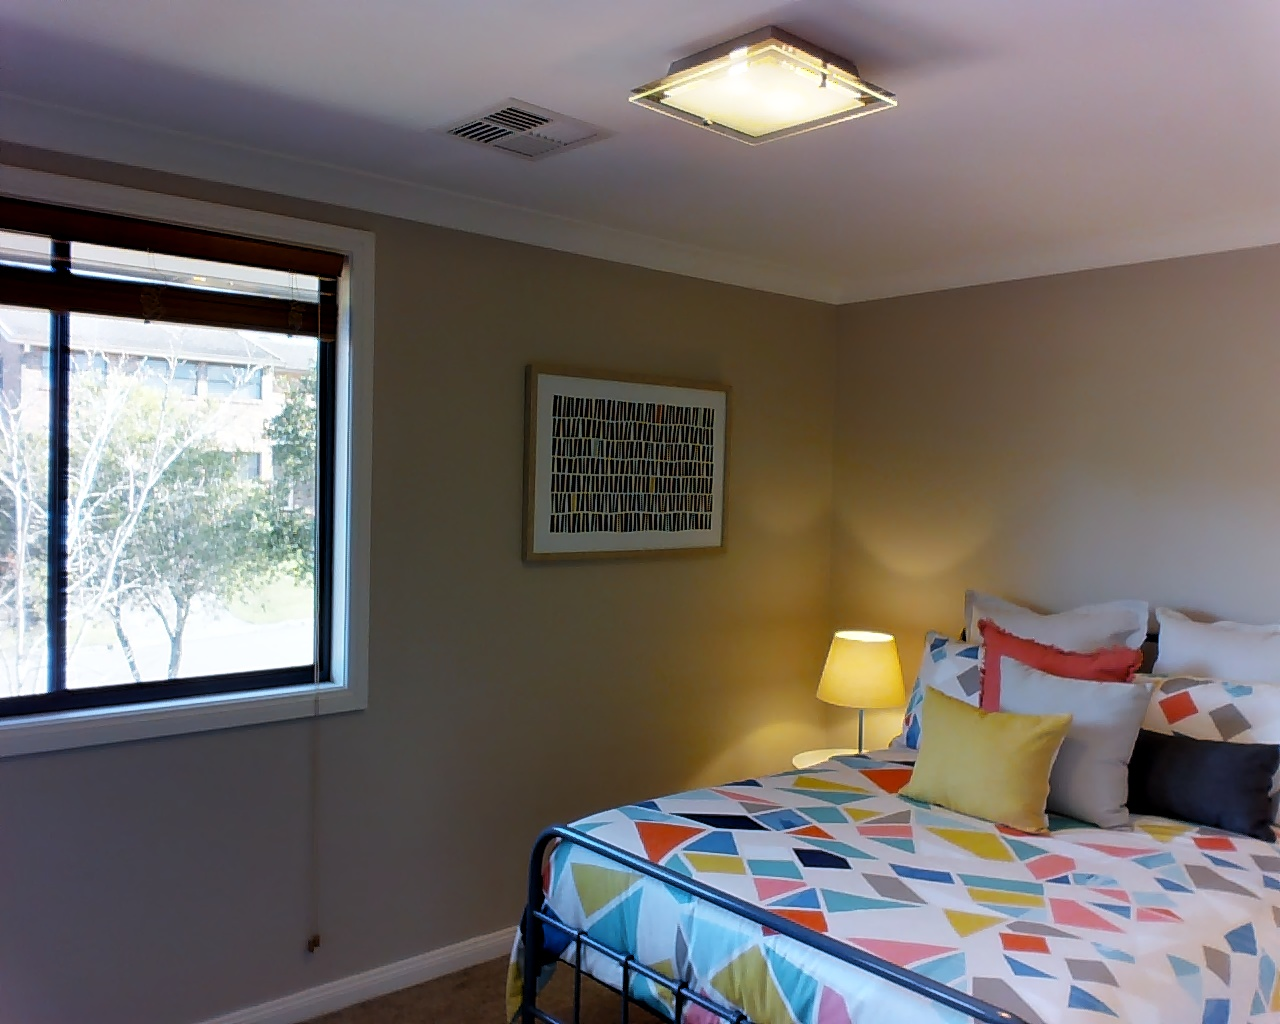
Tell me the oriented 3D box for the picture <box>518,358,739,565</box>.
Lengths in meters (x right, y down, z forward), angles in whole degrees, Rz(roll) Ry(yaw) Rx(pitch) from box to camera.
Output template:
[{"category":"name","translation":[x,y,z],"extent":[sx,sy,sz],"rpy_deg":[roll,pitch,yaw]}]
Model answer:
[{"category":"picture","translation":[-0.010,-0.160,3.760],"extent":[0.960,0.660,0.060],"rpy_deg":[0,2,-42]}]

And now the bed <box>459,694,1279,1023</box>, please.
[{"category":"bed","translation":[0.950,1.090,2.770],"extent":[2.110,0.710,1.880],"rpy_deg":[0,2,-42]}]
